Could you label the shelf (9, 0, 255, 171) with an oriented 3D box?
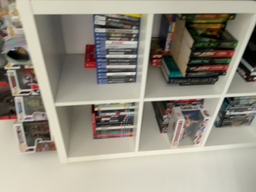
[{"bbox_3d":[0.370,-0.120,1.060,0.430,1.470,0.790,-103,13,-51],"label":"shelf"}]
